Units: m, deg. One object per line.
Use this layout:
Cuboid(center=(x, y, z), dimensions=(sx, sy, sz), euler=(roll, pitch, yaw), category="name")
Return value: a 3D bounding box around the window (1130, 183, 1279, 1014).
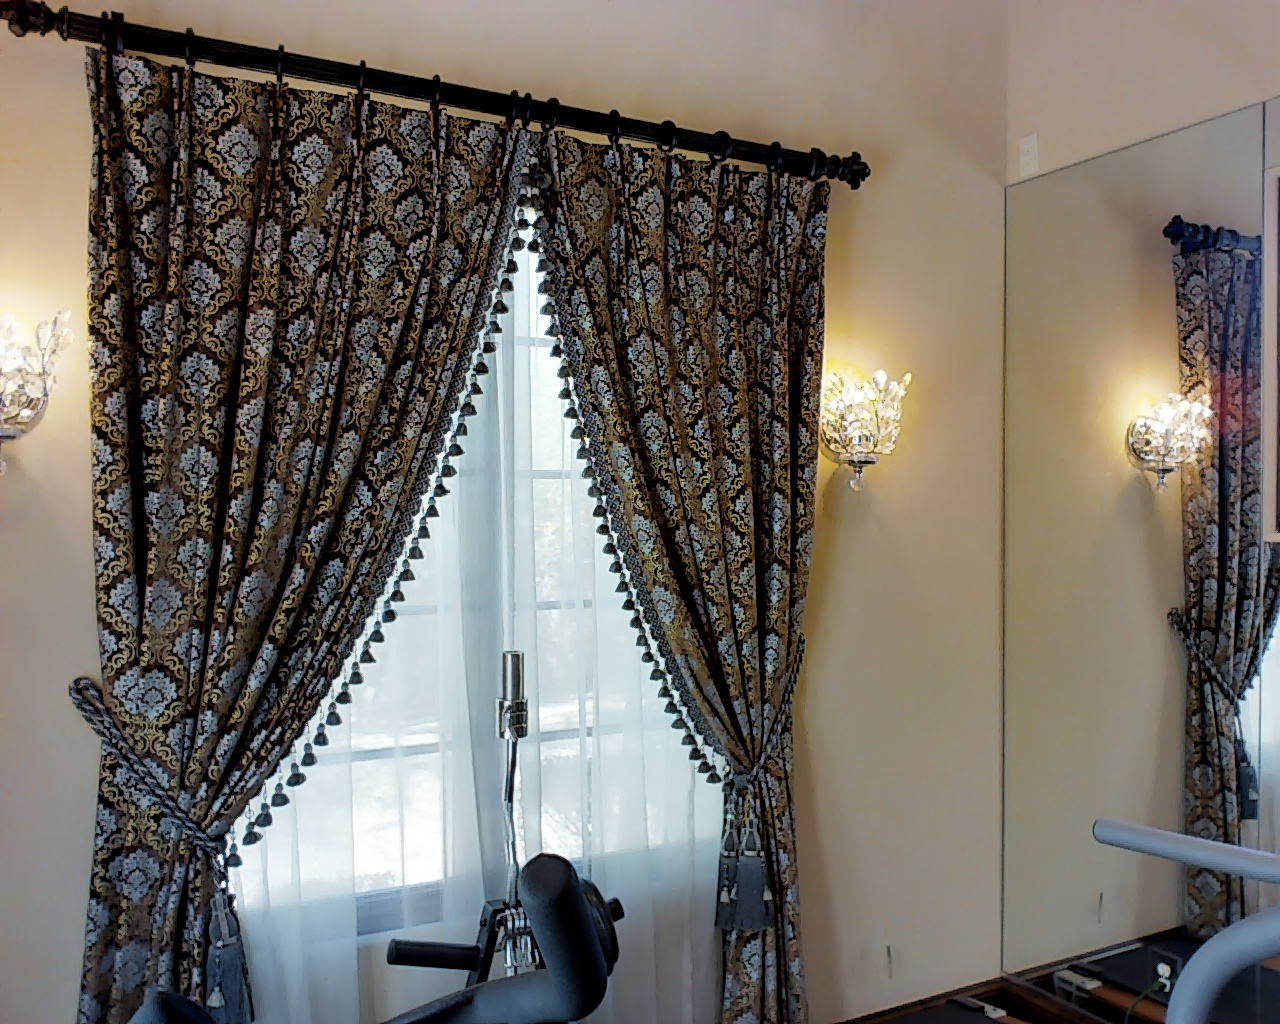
Cuboid(center=(2.720, 0.280, 4.080), dimensions=(2.150, 2.680, 0.290), euler=(0, 0, -28), category="window")
